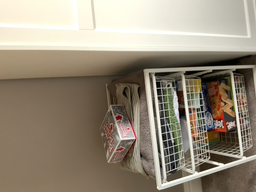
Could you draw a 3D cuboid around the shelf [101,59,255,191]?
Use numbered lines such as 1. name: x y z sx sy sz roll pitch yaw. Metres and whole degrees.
1. shelf: 0.290 0.140 1.240 0.510 0.700 0.600 -8 88 64
